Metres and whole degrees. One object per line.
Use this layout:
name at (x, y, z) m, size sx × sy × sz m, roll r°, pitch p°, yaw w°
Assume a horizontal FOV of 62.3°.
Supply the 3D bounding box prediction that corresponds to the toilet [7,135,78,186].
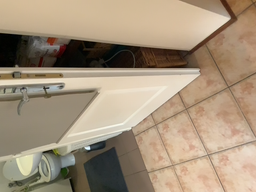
toilet at (-1.210, 0.900, 2.980) m, size 0.640 × 0.710 × 0.440 m, roll -29°, pitch 73°, yaw 46°
